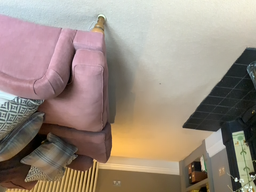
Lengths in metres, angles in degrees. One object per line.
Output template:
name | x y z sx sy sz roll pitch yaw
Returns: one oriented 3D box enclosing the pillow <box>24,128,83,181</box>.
pillow | -0.680 0.580 2.020 0.200 0.350 0.600 -30 156 -6
